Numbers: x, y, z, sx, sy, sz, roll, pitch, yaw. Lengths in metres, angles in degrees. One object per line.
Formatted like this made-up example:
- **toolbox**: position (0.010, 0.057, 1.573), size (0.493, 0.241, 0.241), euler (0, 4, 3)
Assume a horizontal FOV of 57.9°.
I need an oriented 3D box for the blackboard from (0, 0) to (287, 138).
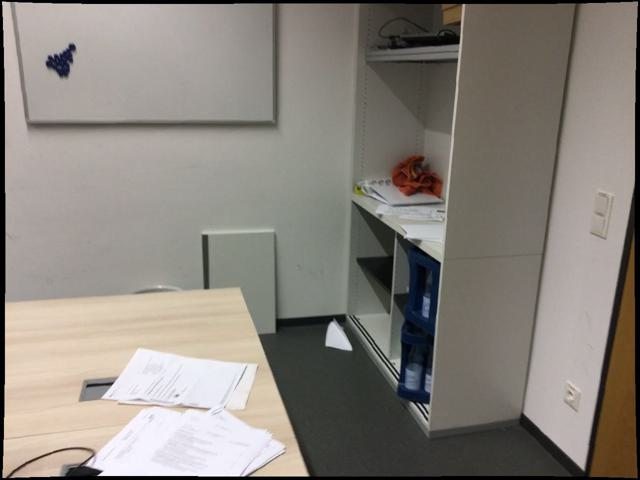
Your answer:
- **blackboard**: position (-0.879, -0.931, 2.730), size (1.439, 0.861, 0.150), euler (-3, 18, -13)
